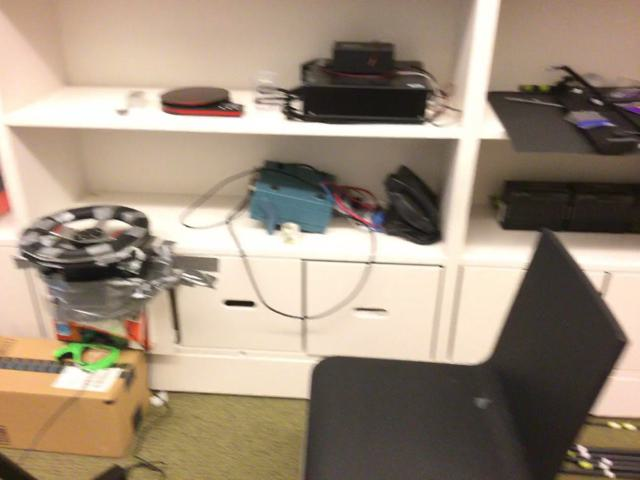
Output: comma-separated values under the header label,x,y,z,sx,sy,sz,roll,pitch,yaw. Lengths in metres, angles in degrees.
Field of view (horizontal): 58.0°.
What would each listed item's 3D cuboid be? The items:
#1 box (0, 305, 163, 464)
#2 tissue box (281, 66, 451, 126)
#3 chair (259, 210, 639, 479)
label,x,y,z,sx,sy,sz,roll,pitch,yaw
box,-0.780,0.410,1.680,0.520,0.350,0.270,0,25,5
tissue box,0.120,-0.390,1.540,0.400,0.080,0.350,0,25,5
chair,0.220,0.390,1.230,0.560,0.780,0.480,0,25,5
